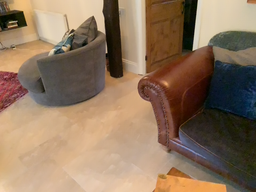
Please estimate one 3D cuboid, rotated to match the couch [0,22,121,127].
[{"bbox_3d":[-0.730,-0.340,2.550,1.040,0.810,1.110,4,32,11],"label":"couch"}]
